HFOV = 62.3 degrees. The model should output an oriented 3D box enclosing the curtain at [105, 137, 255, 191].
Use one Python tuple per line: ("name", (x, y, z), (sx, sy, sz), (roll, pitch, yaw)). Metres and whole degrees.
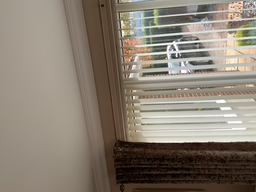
("curtain", (0.900, 0.680, 2.070), (0.270, 2.190, 0.460), (-75, -18, -69))
